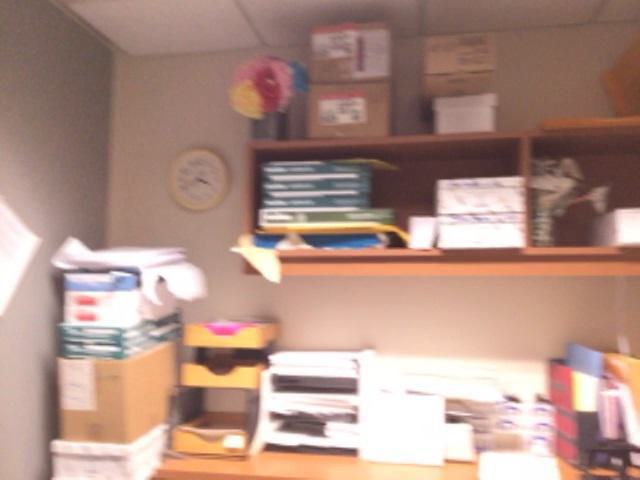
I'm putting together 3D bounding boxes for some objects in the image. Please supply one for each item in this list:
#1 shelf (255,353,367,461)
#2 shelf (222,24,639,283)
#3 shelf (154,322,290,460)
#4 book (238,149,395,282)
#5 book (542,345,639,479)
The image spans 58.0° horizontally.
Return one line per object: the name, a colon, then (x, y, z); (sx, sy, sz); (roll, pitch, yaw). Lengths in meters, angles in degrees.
shelf: (-0.020, 0.570, 2.040); (0.340, 0.310, 0.300); (-1, -6, 11)
shelf: (0.620, -0.230, 1.860); (1.800, 0.710, 0.410); (-1, -6, 11)
shelf: (-0.330, 0.510, 2.050); (0.380, 0.420, 0.320); (-1, -6, 11)
book: (0.010, -0.060, 2.000); (0.470, 0.390, 0.400); (-1, -6, 11)
book: (0.960, 0.530, 1.740); (0.470, 0.390, 0.380); (-1, -6, 11)
